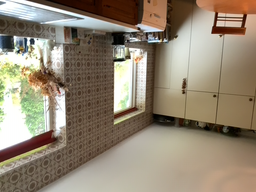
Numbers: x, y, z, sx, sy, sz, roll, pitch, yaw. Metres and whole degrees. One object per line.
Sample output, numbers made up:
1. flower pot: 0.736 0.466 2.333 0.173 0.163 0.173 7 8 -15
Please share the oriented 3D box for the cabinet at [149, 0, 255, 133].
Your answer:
1. cabinet: 1.410 -0.660 3.380 2.100 2.240 0.350 7 -168 31
